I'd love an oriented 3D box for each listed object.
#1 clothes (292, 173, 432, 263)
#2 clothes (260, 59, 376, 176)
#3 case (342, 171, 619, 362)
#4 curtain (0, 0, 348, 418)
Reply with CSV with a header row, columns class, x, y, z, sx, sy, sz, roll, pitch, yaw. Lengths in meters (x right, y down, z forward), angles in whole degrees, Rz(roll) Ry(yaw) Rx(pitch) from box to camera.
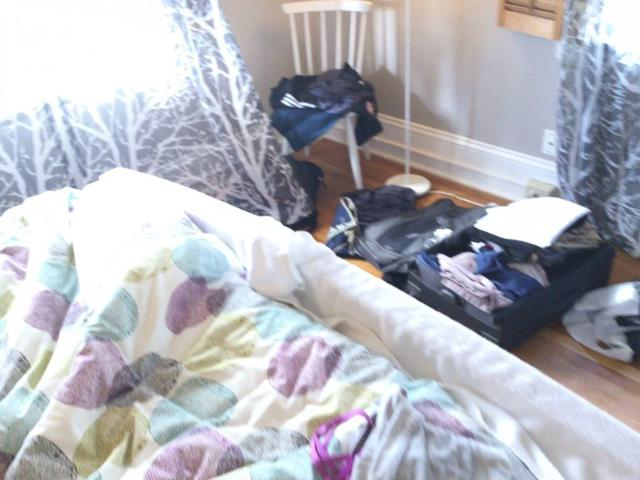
class,x,y,z,sx,sy,sz,roll,pitch,yaw
clothes,0.200,-0.120,2.640,0.360,0.080,0.550,25,43,38
clothes,0.020,-0.590,2.750,0.450,0.370,0.530,1,33,10
case,0.570,0.040,2.210,0.600,0.160,0.810,-24,38,-26
curtain,-0.850,-0.750,1.910,0.740,2.070,1.860,24,43,37
